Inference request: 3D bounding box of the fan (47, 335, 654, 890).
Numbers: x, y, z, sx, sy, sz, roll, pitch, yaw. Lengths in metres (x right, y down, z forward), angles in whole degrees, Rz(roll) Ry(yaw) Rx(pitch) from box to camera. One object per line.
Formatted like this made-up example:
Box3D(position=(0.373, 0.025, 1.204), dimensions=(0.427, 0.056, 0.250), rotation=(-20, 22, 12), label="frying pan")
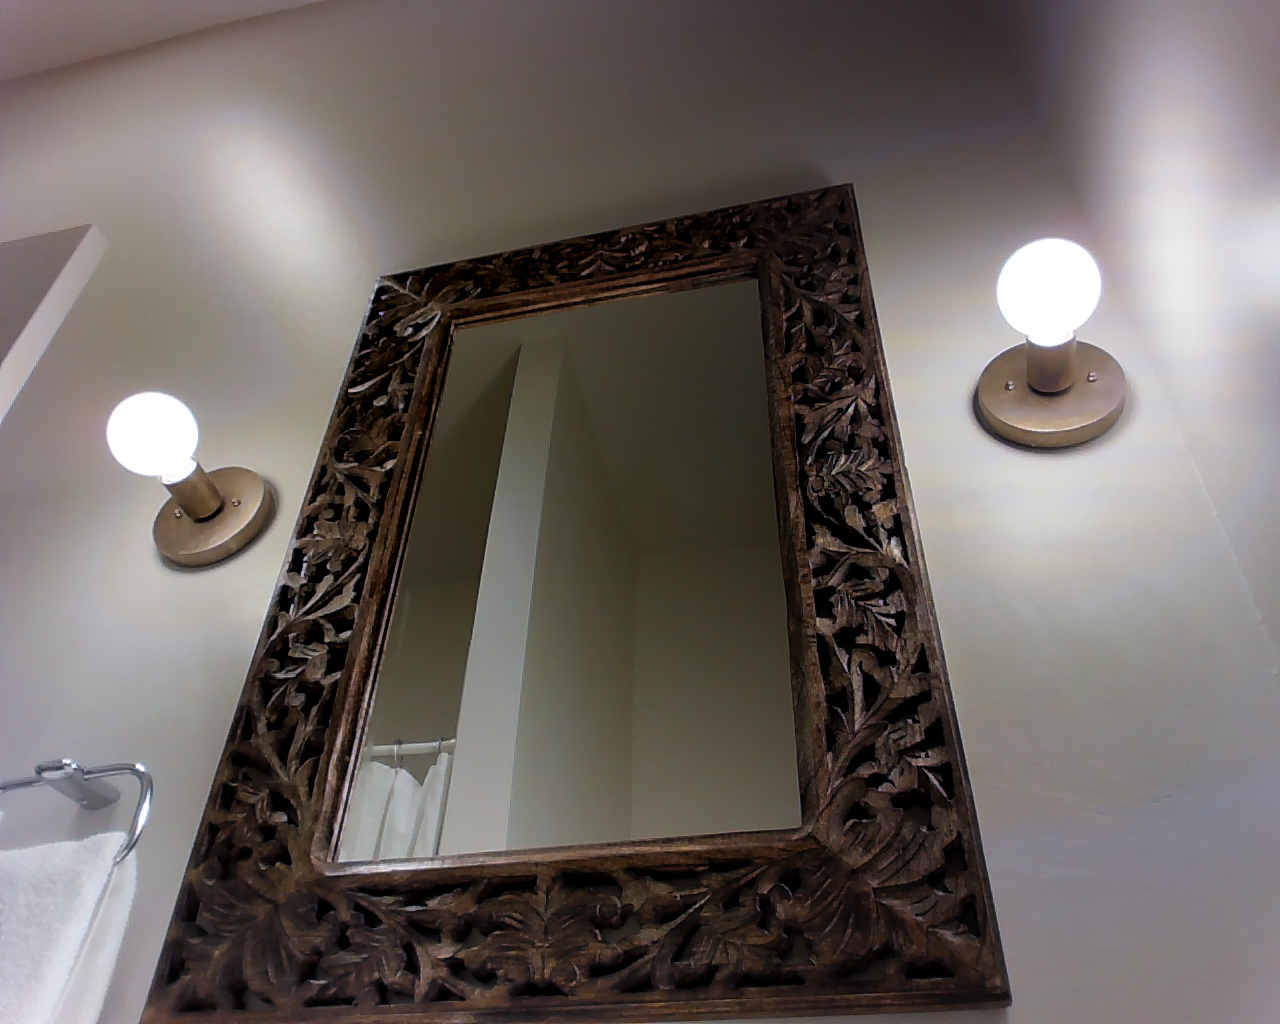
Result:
Box3D(position=(-0.680, 0.280, 3.110), dimensions=(1.310, 1.290, 0.700), rotation=(-8, -41, 10), label="fan")
